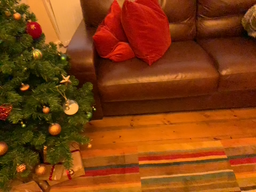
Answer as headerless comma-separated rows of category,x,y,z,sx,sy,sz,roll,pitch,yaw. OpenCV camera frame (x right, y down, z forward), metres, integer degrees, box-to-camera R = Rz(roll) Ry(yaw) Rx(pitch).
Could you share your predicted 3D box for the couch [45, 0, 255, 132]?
couch,0.600,-0.470,1.730,2.050,0.830,1.050,-5,44,0
